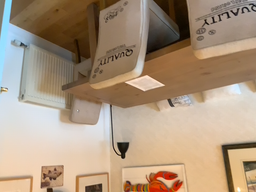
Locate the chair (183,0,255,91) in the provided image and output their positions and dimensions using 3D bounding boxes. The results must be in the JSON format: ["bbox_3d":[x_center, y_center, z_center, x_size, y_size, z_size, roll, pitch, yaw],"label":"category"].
[{"bbox_3d":[0.560,-0.600,1.270,0.380,0.960,0.590,-11,161,23],"label":"chair"}]

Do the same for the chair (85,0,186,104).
[{"bbox_3d":[0.050,-0.490,1.540,0.390,0.960,0.590,-16,159,36],"label":"chair"}]
